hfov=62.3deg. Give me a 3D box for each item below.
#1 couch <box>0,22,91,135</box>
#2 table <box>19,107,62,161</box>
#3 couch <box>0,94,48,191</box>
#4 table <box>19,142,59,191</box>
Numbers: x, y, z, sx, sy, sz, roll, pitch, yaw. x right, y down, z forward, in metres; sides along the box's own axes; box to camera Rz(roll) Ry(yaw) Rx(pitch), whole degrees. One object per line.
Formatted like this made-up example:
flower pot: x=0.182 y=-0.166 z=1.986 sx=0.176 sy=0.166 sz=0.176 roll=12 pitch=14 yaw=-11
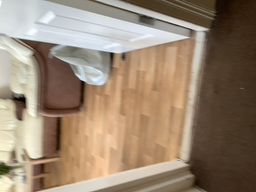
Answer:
couch: x=-1.380 y=-0.300 z=2.820 sx=1.610 sy=1.060 sz=1.060 roll=19 pitch=105 yaw=52
table: x=-1.410 y=0.570 z=3.390 sx=0.590 sy=0.480 sz=0.650 roll=19 pitch=105 yaw=52
couch: x=-2.290 y=1.140 z=4.130 sx=1.010 sy=1.020 sz=2.210 roll=19 pitch=105 yaw=52
table: x=-1.480 y=1.180 z=3.500 sx=0.590 sy=0.460 sz=0.600 roll=19 pitch=105 yaw=52
